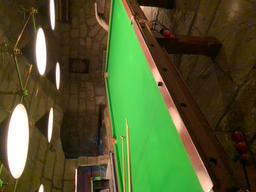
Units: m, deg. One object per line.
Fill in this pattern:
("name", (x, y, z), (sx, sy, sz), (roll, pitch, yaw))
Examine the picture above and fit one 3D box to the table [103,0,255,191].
("table", (0.330, 0.010, 2.380), (3.110, 0.880, 1.730), (-104, 19, -49))
